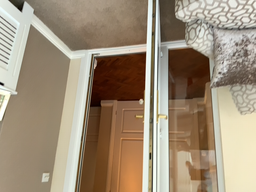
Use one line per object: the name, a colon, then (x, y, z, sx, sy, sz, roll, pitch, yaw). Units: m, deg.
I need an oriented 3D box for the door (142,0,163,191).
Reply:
door: (0.210, 0.240, 1.610, 0.070, 2.020, 0.860, -1, 162, 11)
